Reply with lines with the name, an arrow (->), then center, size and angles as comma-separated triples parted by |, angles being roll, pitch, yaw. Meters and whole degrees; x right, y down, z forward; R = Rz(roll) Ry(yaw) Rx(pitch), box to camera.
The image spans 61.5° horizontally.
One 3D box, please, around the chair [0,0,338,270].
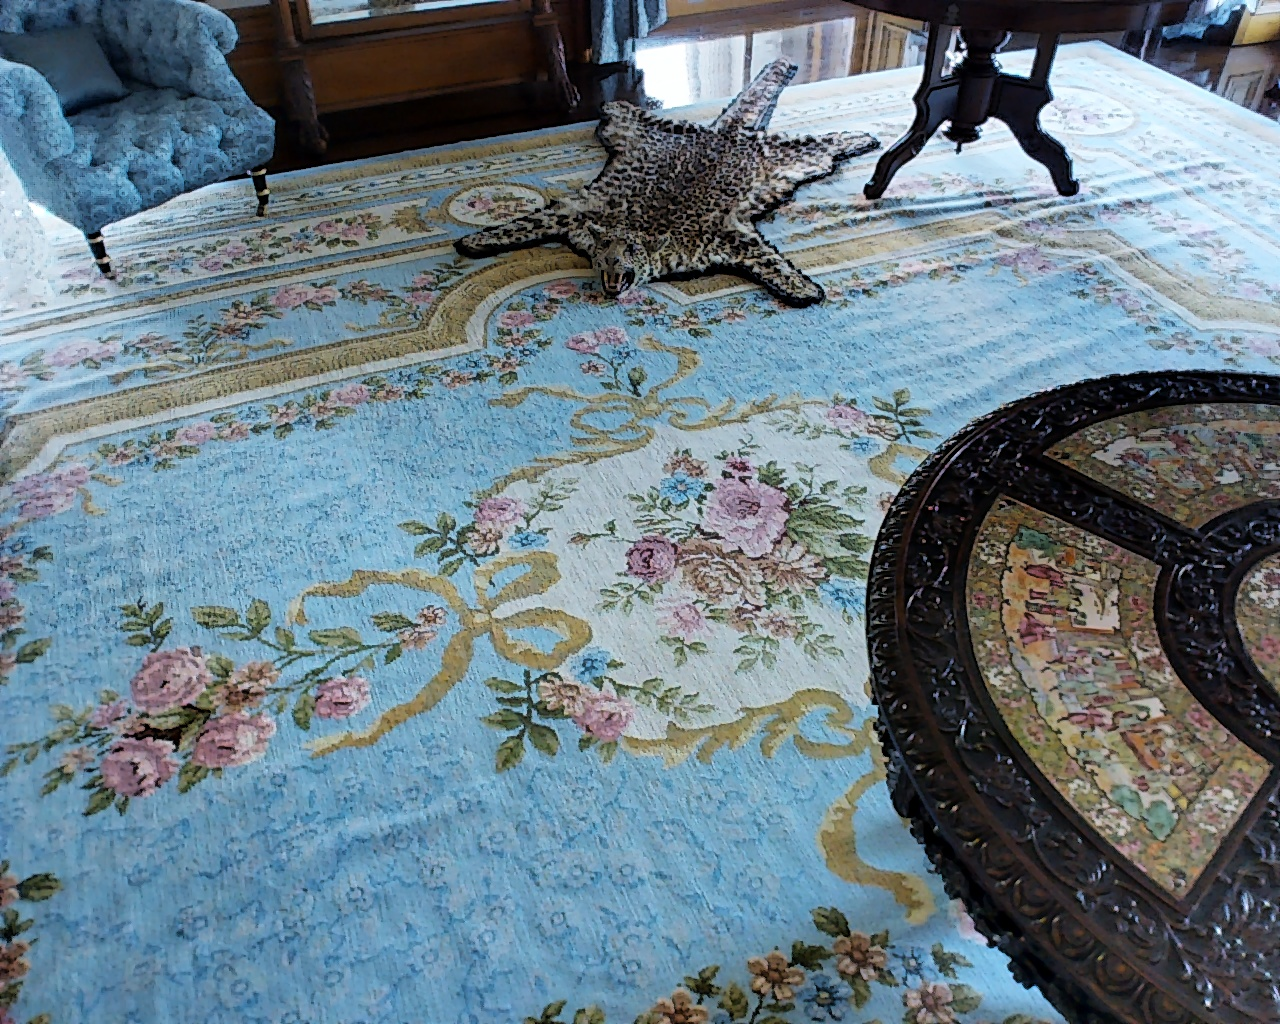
chair -> -1.650, -1.430, 3.180 | 1.040, 0.860, 0.850 | 27, 49, 26
